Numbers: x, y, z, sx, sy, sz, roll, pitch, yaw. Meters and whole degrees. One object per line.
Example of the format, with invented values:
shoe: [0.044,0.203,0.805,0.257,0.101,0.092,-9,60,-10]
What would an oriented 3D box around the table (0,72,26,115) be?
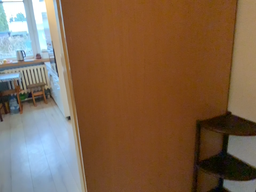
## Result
table: [-2.780,-0.020,4.320,1.120,0.720,0.540,-10,20,-19]
